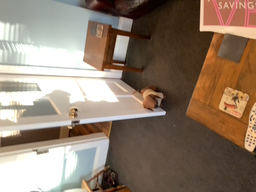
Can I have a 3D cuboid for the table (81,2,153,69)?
[{"bbox_3d":[-0.120,-0.580,2.080,0.390,0.490,0.510,32,116,46],"label":"table"}]
